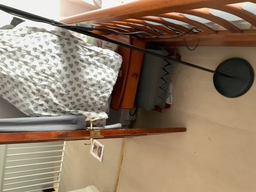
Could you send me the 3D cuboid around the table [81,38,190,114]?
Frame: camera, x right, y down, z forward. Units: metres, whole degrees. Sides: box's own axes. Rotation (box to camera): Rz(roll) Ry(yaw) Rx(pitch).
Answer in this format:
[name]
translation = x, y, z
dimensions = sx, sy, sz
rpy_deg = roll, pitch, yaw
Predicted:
[table]
translation = 0.050, -0.160, 1.770
dimensions = 0.570, 0.620, 0.480
rpy_deg = 17, 100, 51
